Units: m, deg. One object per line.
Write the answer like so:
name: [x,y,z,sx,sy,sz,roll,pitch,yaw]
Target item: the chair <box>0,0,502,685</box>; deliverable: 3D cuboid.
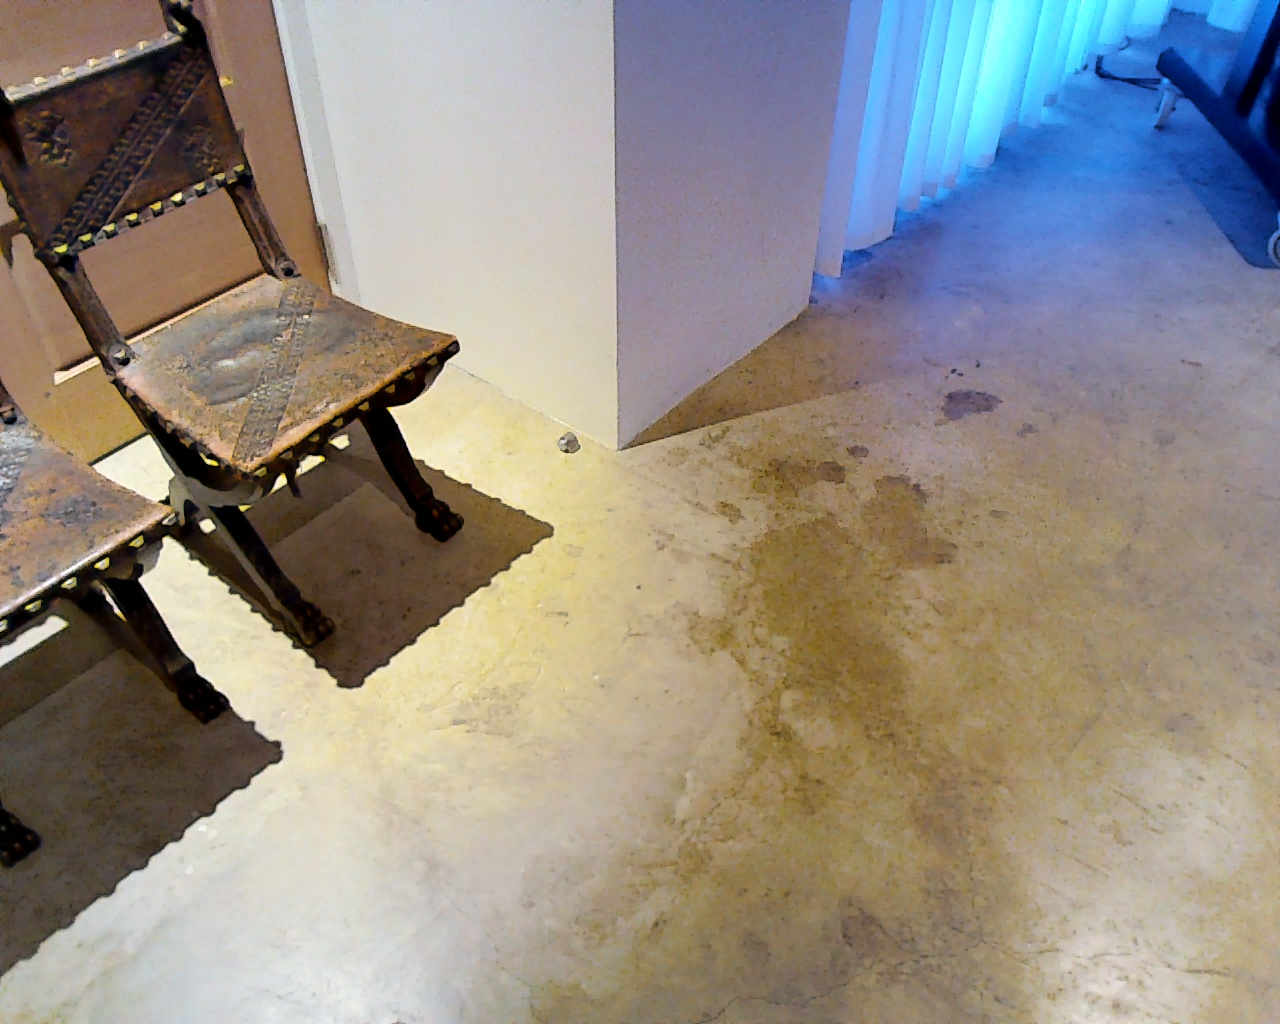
chair: [-0.650,-0.310,1.820,0.600,0.990,0.460,29,49,27]
